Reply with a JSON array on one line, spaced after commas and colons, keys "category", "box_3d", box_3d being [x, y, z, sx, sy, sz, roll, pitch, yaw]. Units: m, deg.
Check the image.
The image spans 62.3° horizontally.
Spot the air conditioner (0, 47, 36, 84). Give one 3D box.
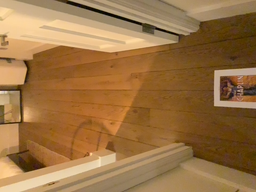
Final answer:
[{"category": "air conditioner", "box_3d": [-2.000, -0.490, 3.360, 0.510, 0.830, 0.370, 45, 123, 35]}]
